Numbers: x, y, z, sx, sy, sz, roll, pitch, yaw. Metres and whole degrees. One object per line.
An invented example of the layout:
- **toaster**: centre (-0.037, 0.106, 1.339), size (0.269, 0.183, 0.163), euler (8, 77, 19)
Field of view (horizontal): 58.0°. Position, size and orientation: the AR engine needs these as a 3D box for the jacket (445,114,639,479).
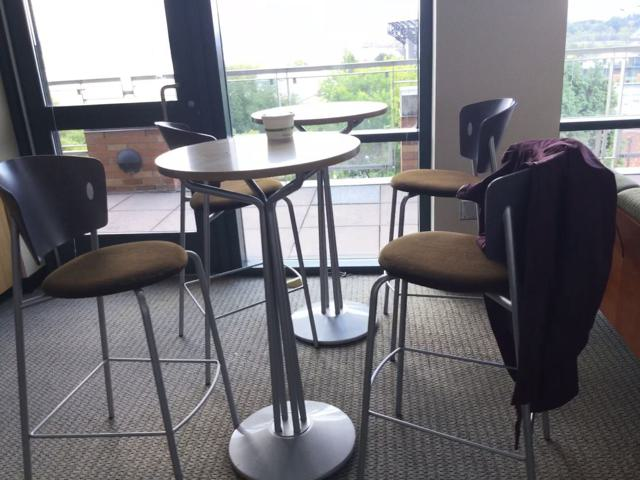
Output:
- **jacket**: centre (0.620, 0.180, 1.670), size (0.370, 0.960, 0.630), euler (-6, 17, 9)
